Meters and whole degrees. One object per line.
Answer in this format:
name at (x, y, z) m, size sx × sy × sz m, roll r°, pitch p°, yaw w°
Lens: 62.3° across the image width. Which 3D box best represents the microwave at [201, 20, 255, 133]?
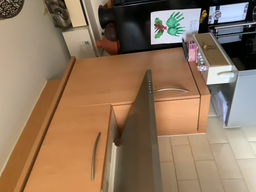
microwave at (0.640, -0.120, 1.220) m, size 0.500 × 0.280 × 0.400 m, roll -89°, pitch -9°, yaw -48°
